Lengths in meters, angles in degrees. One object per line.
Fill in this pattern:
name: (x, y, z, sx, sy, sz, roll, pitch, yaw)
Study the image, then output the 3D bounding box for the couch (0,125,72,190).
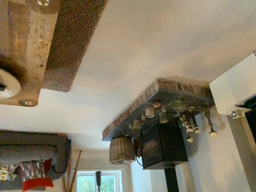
couch: (-2.070, 1.020, 3.350, 2.050, 0.760, 1.180, 8, 149, -26)
